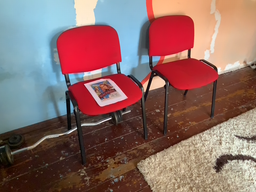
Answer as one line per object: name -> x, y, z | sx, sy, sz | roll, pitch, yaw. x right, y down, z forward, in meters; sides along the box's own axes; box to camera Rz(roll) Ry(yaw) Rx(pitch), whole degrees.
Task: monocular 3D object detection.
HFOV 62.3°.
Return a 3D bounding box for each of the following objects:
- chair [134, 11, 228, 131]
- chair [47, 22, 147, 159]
chair -> 0.400, -0.230, 1.900 | 0.450, 0.840, 0.530 | -16, 40, -23
chair -> -0.230, -0.050, 1.630 | 0.500, 0.830, 0.490 | -16, 40, -23
